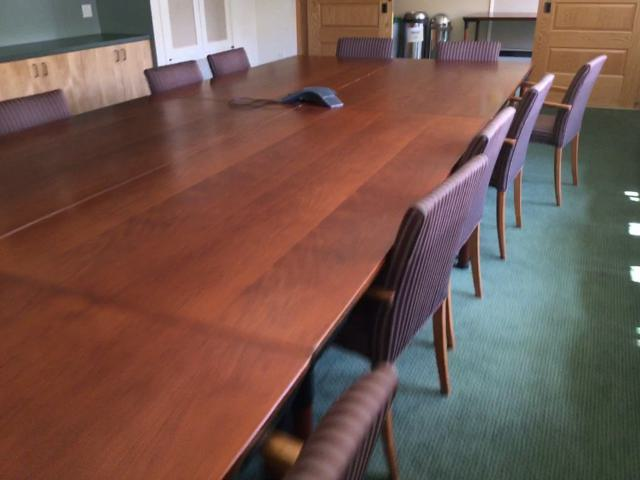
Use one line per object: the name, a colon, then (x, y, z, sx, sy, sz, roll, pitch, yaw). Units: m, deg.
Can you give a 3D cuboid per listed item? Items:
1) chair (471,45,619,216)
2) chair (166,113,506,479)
chair: (1.340, -0.690, 3.470, 0.630, 0.820, 0.630, 12, 30, 28)
chair: (0.100, 0.190, 1.640, 0.650, 0.910, 0.650, 9, 29, 22)
